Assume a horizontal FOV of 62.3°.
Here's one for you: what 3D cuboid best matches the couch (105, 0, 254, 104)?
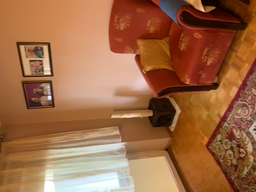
[{"bbox_3d":[0.370,-0.580,2.220,0.940,1.020,0.900,-110,23,-48],"label":"couch"}]
